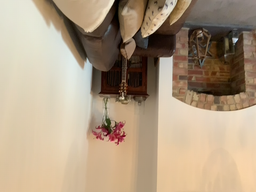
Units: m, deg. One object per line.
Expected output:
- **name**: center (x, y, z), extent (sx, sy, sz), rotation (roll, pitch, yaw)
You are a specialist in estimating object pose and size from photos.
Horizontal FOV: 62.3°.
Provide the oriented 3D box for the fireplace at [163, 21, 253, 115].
- **fireplace**: center (1.060, -0.360, 2.960), extent (1.040, 1.170, 0.450), rotation (3, 170, -2)
